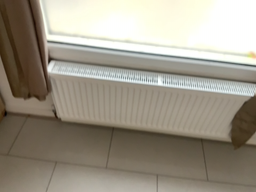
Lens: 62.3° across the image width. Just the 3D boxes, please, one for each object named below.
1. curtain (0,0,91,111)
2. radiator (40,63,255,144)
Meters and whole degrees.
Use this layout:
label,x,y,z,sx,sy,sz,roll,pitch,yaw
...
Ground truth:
label,x,y,z,sx,sy,sz,roll,pitch,yaw
curtain,-0.400,-0.640,0.550,0.470,1.870,0.140,8,47,3
radiator,0.130,0.070,1.270,1.190,0.450,0.080,6,47,1
